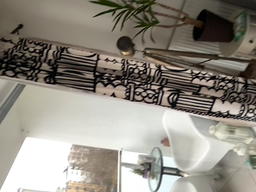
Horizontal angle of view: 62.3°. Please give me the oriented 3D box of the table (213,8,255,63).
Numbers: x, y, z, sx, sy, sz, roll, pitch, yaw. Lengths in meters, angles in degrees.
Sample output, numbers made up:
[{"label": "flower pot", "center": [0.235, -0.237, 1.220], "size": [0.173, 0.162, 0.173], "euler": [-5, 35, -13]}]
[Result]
[{"label": "table", "center": [1.150, -0.490, 1.840], "size": [0.310, 0.620, 0.320], "euler": [-93, 16, -55]}]
